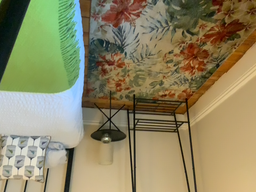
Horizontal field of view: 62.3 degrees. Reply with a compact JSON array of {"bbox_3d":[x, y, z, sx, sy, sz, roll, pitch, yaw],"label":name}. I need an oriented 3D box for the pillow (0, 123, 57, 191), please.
[{"bbox_3d":[-0.910,0.510,1.840,0.450,0.390,0.170,-19,159,-28],"label":"pillow"}]
